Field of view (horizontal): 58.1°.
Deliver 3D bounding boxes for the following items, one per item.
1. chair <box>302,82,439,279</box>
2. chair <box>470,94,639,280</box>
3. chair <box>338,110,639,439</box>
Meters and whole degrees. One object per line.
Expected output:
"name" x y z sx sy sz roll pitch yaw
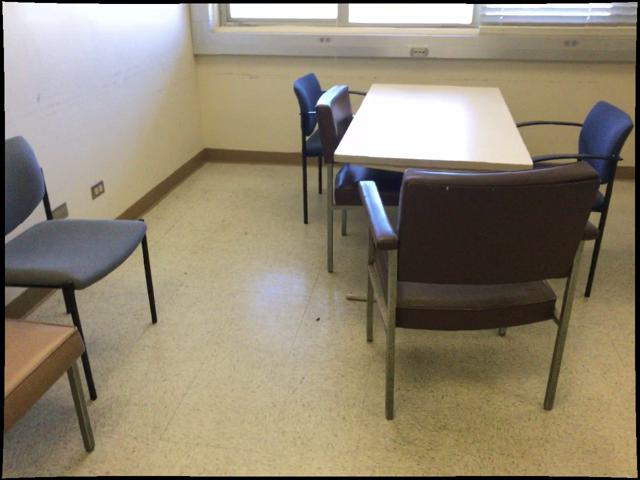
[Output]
"chair" 0.259 -0.311 2.800 0.559 0.782 0.560 4 27 11
"chair" 1.007 -0.261 2.620 0.549 0.671 0.520 4 27 11
"chair" 0.449 0.080 1.920 0.728 0.852 0.660 -2 26 -2
